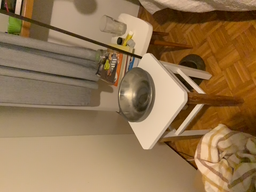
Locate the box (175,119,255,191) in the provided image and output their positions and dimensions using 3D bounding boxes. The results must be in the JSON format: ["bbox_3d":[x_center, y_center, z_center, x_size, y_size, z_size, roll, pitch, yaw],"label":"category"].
[{"bbox_3d":[0.460,0.290,0.770,0.330,0.370,0.280,39,118,49],"label":"box"}]

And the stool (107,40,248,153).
[{"bbox_3d":[0.220,0.010,1.020,0.320,0.460,0.350,-60,42,30],"label":"stool"}]
